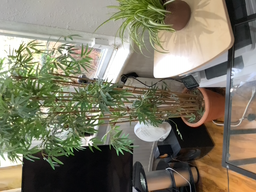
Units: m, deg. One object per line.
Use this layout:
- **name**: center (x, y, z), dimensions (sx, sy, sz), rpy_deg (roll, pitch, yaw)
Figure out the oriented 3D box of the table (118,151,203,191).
- **table**: center (0.270, 1.090, 1.890), dimensions (0.560, 0.540, 1.060), rpy_deg (167, 104, -66)
